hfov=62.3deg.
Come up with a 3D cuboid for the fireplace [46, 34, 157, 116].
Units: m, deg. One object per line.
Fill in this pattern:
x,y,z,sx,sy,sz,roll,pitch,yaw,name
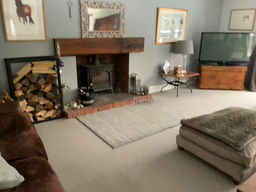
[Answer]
-0.490,-0.550,4.200,1.810,1.230,1.030,-12,22,-33,fireplace
